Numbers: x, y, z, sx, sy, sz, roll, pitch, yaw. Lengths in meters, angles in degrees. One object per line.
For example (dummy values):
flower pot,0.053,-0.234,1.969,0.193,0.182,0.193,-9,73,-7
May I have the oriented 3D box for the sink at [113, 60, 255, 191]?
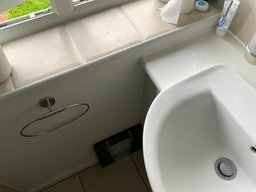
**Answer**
sink,0.260,0.220,0.570,0.400,0.210,0.530,-23,61,-14
